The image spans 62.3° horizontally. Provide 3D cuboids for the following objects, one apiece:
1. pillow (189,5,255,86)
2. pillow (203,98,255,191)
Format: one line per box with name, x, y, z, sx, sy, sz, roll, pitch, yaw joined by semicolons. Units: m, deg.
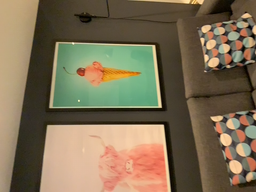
pillow;0.810;-0.400;1.670;0.450;0.430;0.150;54;180;20
pillow;0.810;0.310;1.390;0.450;0.400;0.120;58;176;23
